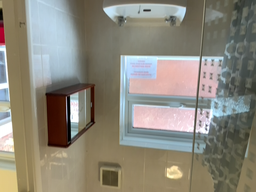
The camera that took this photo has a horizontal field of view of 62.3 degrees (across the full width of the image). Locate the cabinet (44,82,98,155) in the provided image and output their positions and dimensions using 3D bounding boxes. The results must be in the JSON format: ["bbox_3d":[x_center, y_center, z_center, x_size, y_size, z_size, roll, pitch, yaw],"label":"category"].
[{"bbox_3d":[-0.410,0.130,1.680,0.130,0.390,0.680,4,-169,9],"label":"cabinet"}]

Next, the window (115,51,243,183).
[{"bbox_3d":[0.420,0.150,2.050,1.000,1.110,0.440,4,-169,9],"label":"window"}]

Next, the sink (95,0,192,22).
[{"bbox_3d":[0.120,-0.700,1.550,0.630,0.240,0.370,3,-169,8],"label":"sink"}]
